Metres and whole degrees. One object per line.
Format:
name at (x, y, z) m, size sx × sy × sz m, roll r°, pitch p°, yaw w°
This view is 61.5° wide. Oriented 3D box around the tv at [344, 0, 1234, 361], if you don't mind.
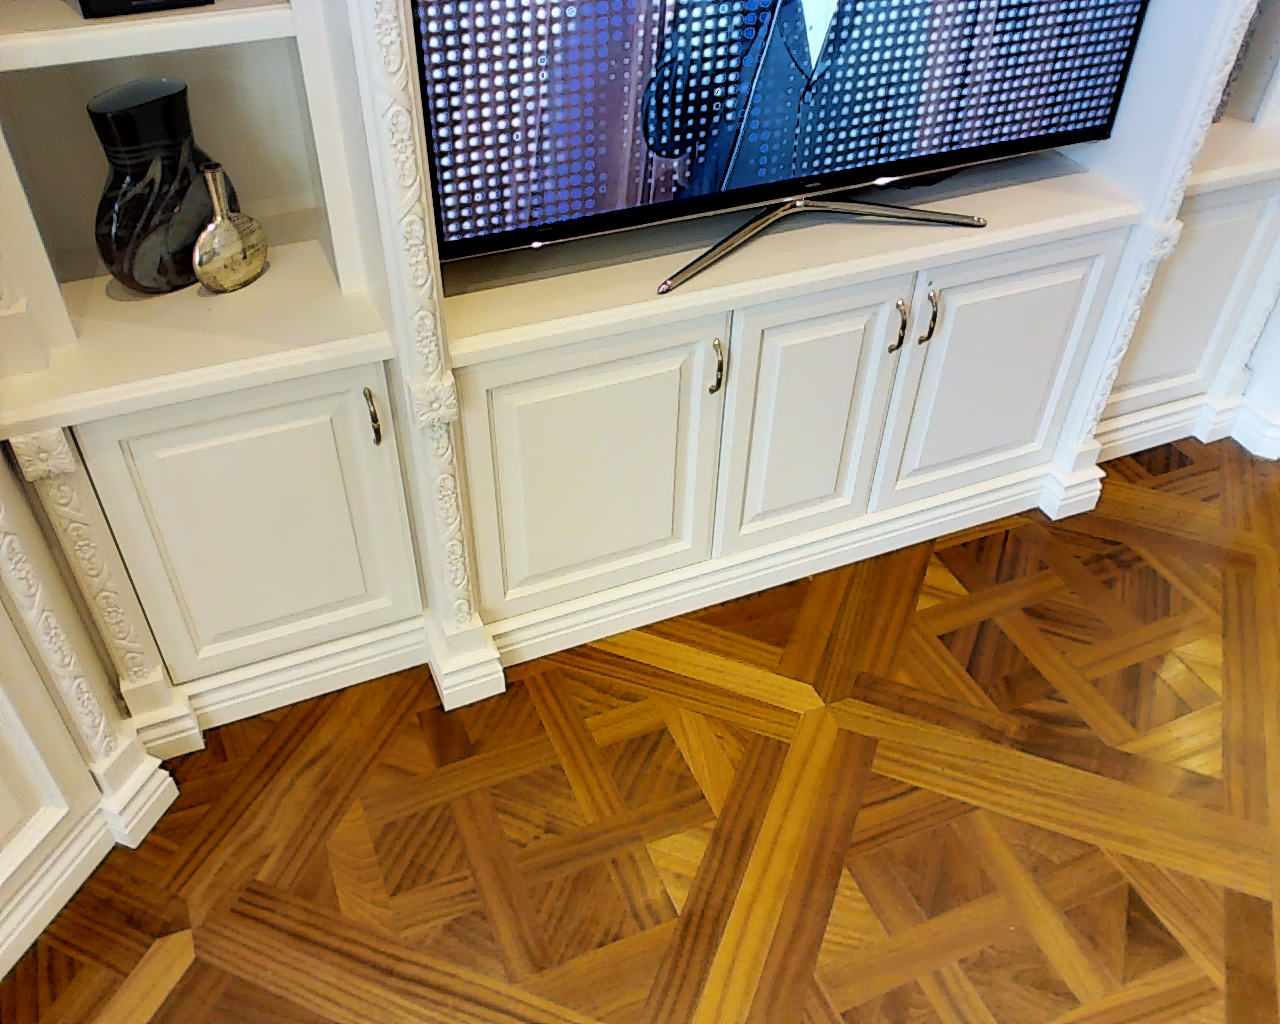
tv at (0.310, -0.830, 1.670) m, size 1.490 × 0.930 × 0.200 m, roll -15°, pitch 44°, yaw -17°
